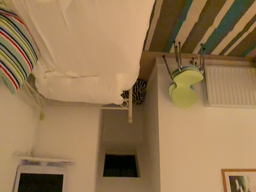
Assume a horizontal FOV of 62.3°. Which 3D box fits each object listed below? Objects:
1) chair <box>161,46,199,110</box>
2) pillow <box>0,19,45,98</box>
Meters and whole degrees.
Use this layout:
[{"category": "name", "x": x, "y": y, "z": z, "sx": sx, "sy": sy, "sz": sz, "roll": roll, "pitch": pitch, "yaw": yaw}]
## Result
[{"category": "chair", "x": 0.590, "y": -0.200, "z": 2.530, "sx": 0.330, "sy": 0.650, "sz": 0.410, "roll": 1, "pitch": 161, "yaw": 1}, {"category": "pillow", "x": -0.770, "y": -0.230, "z": 1.370, "sx": 0.180, "sy": 0.320, "sz": 0.550, "roll": -27, "pitch": 169, "yaw": -11}]
